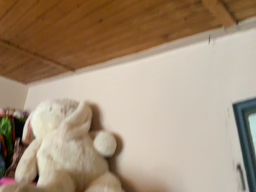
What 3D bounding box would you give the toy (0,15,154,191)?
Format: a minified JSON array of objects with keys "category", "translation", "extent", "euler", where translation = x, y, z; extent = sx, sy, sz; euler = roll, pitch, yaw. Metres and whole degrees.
[{"category":"toy","translation":[-0.450,0.250,1.150],"extent":[1.020,0.690,0.580],"euler":[-21,-33,40]}]
